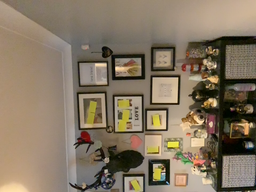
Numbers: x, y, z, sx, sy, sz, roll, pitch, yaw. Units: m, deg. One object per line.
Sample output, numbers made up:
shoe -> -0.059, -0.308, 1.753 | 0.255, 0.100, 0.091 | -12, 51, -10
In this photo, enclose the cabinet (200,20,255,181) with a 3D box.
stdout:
cabinet -> 1.210, 0.040, 2.180 | 0.430, 0.750, 1.500 | -109, 18, -81
